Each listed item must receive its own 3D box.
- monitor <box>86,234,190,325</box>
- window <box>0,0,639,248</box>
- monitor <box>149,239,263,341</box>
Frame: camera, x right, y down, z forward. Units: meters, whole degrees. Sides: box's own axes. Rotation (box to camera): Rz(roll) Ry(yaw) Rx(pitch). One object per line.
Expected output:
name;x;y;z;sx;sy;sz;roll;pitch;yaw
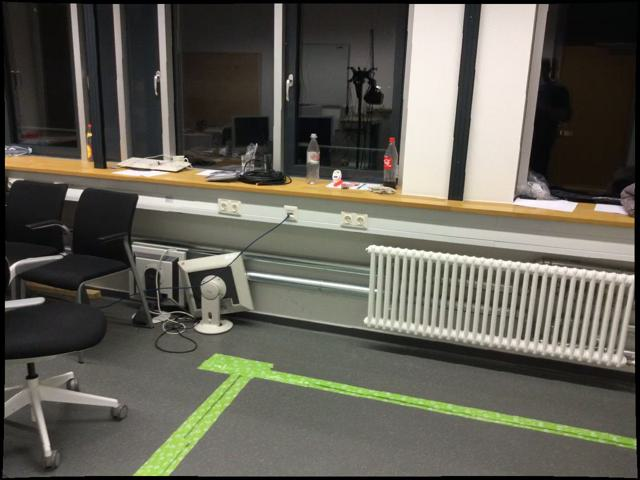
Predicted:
monitor;-1.159;0.240;3.700;0.530;0.430;0.300;8;20;23
window;-0.819;-1.512;3.450;7.704;2.282;0.860;8;20;23
monitor;-0.689;0.290;3.540;0.570;0.440;0.340;8;20;23
